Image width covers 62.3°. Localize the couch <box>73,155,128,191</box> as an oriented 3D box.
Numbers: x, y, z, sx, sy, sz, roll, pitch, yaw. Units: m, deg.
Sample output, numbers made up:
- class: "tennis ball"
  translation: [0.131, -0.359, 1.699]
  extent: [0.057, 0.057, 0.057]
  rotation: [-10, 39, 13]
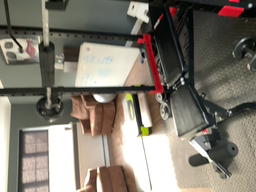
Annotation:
- class: "couch"
  translation: [-0.600, 1.920, 4.290]
  extent: [0.970, 0.860, 0.930]
  rotation: [-112, 29, -44]
